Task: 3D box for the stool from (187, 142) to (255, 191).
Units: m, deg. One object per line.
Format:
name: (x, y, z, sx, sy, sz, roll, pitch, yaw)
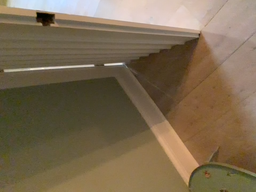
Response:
stool: (0.650, 0.540, 1.150, 0.610, 0.210, 0.380, 9, 105, 44)
